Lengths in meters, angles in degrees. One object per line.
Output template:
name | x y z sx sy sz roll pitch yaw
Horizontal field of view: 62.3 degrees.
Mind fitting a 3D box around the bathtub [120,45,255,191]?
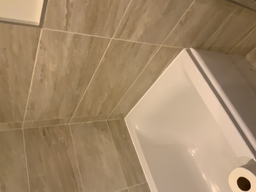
bathtub | 0.570 0.550 1.050 0.700 0.550 1.440 -51 51 44
